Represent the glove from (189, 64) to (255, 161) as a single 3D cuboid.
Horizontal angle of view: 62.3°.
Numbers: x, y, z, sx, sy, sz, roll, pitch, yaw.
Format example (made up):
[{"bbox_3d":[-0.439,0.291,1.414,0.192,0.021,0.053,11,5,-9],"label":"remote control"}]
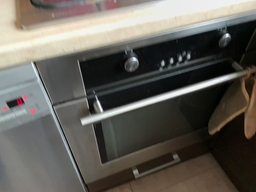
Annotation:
[{"bbox_3d":[0.340,0.060,0.680,0.190,0.280,0.120,-17,50,-14],"label":"glove"}]
